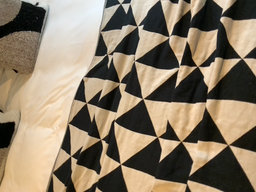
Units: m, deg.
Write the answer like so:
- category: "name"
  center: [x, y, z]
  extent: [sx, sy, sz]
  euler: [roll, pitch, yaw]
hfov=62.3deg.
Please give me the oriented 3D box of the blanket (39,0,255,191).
- category: "blanket"
  center: [0.080, -0.010, 0.670]
  extent: [0.770, 0.090, 1.460]
  euler: [11, 84, 41]
